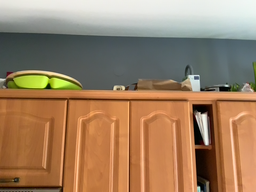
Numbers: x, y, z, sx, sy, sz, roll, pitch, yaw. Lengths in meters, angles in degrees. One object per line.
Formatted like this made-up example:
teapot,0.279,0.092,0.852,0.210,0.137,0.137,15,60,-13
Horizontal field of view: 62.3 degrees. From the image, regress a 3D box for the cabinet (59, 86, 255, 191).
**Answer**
cabinet,0.350,0.370,1.130,1.320,0.770,0.330,1,-11,-4
